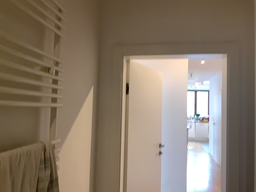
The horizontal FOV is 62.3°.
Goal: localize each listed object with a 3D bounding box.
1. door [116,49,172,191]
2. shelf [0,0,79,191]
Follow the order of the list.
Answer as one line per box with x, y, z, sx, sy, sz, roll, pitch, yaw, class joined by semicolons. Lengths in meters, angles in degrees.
0.250;0.680;2.460;0.120;2.130;1.350;1;-2;26;door
-0.380;0.150;0.810;0.120;1.330;0.620;2;-2;7;shelf
